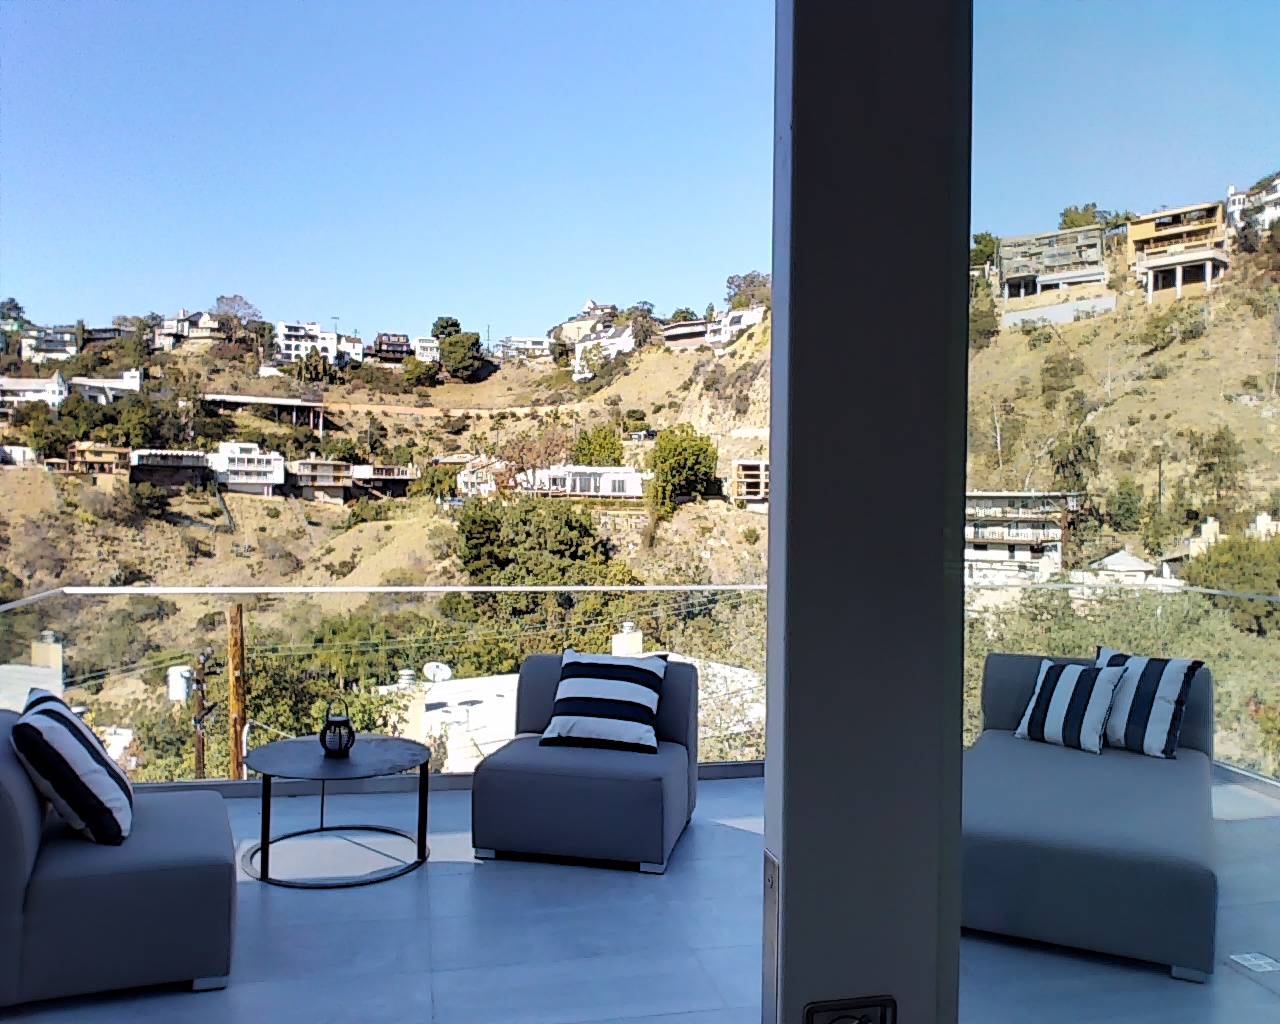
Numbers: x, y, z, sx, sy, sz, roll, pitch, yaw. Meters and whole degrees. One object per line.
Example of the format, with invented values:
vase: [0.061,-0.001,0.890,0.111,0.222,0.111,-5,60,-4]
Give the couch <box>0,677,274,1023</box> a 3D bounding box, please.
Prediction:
couch: [-1.870,1.100,3.690,1.070,0.860,0.950,0,1,-25]
